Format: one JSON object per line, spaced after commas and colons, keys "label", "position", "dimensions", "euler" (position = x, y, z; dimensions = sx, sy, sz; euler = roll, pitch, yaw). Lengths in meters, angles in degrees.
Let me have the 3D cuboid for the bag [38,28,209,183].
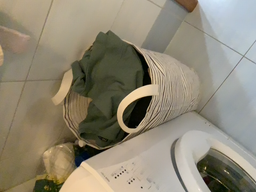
{"label": "bag", "position": [0.040, 0.010, 0.880], "dimensions": [0.240, 0.640, 0.390], "euler": [43, 116, 22]}
